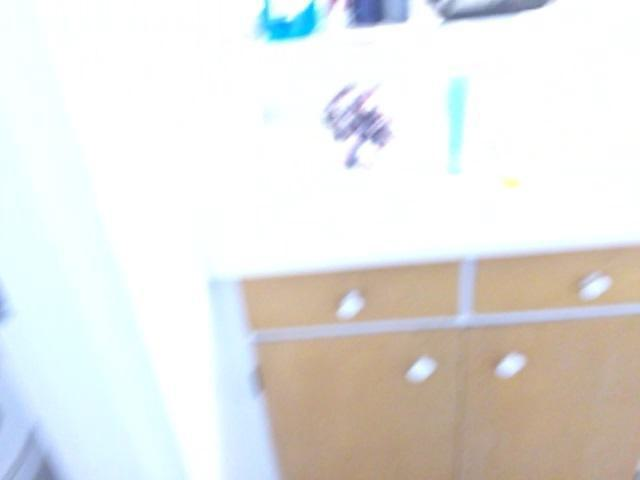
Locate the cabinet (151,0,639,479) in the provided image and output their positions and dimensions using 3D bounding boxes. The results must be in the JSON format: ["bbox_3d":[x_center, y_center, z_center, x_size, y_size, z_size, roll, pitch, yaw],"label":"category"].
[{"bbox_3d":[0.880,0.060,1.130,2.050,1.030,0.550,-5,33,6],"label":"cabinet"}]
